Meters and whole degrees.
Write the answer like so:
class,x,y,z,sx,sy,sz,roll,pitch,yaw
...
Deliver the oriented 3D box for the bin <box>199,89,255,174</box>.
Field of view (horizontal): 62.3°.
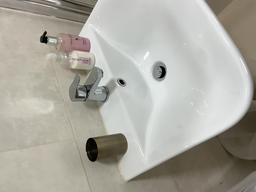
class,x,y,z,sx,sy,sz,roll,pitch,yaw
bin,0.580,0.150,0.980,0.270,0.320,0.270,-40,62,43
